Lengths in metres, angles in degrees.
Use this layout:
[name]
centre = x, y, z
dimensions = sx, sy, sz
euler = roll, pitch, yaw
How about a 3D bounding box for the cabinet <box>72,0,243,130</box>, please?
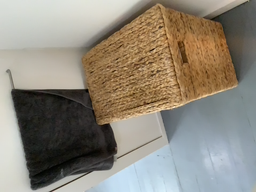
[cabinet]
centre = 0.170, -0.150, 1.160
dimensions = 0.570, 0.630, 0.430
euler = -22, 84, 43
